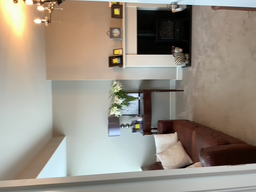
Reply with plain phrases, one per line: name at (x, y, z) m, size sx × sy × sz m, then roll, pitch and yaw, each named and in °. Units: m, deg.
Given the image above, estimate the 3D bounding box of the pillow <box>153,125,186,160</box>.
pillow at (0.620, 0.690, 3.210) m, size 0.310 × 0.350 × 0.370 m, roll -152°, pitch 49°, yaw -80°

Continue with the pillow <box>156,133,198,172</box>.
pillow at (0.660, 0.760, 2.880) m, size 0.350 × 0.420 × 0.150 m, roll 55°, pitch 169°, yaw 52°

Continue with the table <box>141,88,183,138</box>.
table at (0.640, 0.290, 4.050) m, size 0.430 × 0.680 × 0.870 m, roll -151°, pitch 60°, yaw -81°
